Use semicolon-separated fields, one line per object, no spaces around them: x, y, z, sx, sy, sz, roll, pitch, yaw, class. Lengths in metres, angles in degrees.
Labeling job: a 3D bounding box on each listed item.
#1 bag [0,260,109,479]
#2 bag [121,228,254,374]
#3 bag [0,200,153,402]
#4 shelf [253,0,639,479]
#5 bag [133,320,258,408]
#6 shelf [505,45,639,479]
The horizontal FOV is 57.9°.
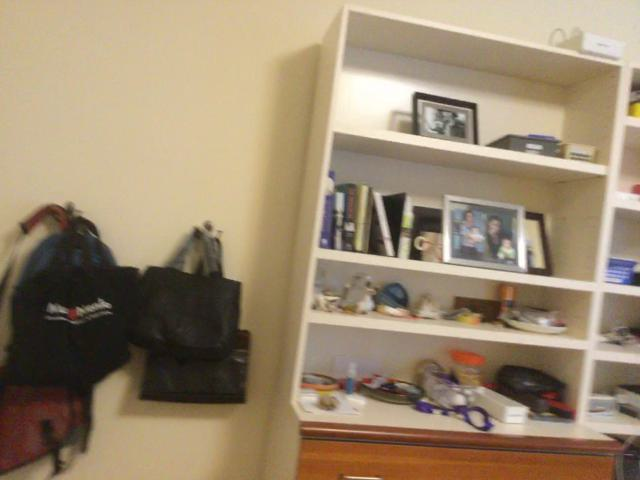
-0.860;0.380;1.560;0.440;0.630;0.220;8;-1;-12;bag
-0.380;0.170;1.680;0.310;0.370;0.190;8;-1;-12;bag
-0.690;0.160;1.590;0.370;0.480;0.240;8;-1;-12;bag
0.360;0.410;1.710;0.960;2.190;0.510;8;-1;-12;shelf
-0.370;0.370;1.740;0.330;0.210;0.130;8;-1;-12;bag
1.040;0.170;1.900;0.570;1.420;0.340;8;-1;-12;shelf
